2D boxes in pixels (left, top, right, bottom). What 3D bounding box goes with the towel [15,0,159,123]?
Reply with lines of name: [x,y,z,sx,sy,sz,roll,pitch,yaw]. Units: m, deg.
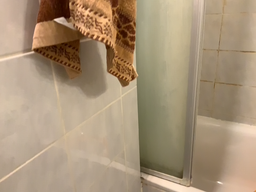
towel: [-0.060,-0.230,0.370,0.160,0.480,0.220,9,26,26]
